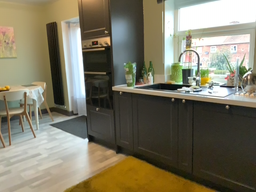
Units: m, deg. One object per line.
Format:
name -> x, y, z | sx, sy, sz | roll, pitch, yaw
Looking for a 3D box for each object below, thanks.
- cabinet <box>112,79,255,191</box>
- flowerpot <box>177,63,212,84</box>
cabinet -> 0.710, 0.340, 2.220 | 1.900, 0.870, 0.600 | 9, 15, 43
flowerpot -> 0.810, -0.280, 2.590 | 0.330, 0.220, 0.250 | 8, 15, 42
